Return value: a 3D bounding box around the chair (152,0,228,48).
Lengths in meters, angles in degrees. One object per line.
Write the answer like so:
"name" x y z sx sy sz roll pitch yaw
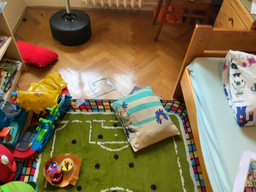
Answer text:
"chair" 0.580 -0.930 2.070 0.550 0.760 0.440 2 51 -3

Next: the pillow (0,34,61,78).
"pillow" -0.860 -0.370 1.890 0.390 0.100 0.300 28 54 17
